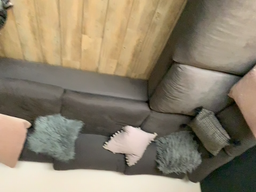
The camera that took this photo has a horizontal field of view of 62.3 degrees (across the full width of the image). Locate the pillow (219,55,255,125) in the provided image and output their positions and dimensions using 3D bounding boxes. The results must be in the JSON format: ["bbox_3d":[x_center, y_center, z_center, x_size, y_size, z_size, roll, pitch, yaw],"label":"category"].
[{"bbox_3d":[0.880,-0.040,1.510,0.170,0.300,0.370,10,127,-14],"label":"pillow"}]

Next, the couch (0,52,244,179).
[{"bbox_3d":[-0.420,0.330,2.420,2.960,0.800,1.050,8,146,-12],"label":"couch"}]

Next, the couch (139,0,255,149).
[{"bbox_3d":[0.800,-0.300,1.490,0.970,0.730,1.740,8,146,-12],"label":"couch"}]

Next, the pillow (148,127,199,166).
[{"bbox_3d":[0.520,0.590,2.490,0.520,0.290,0.130,-18,129,10],"label":"pillow"}]
